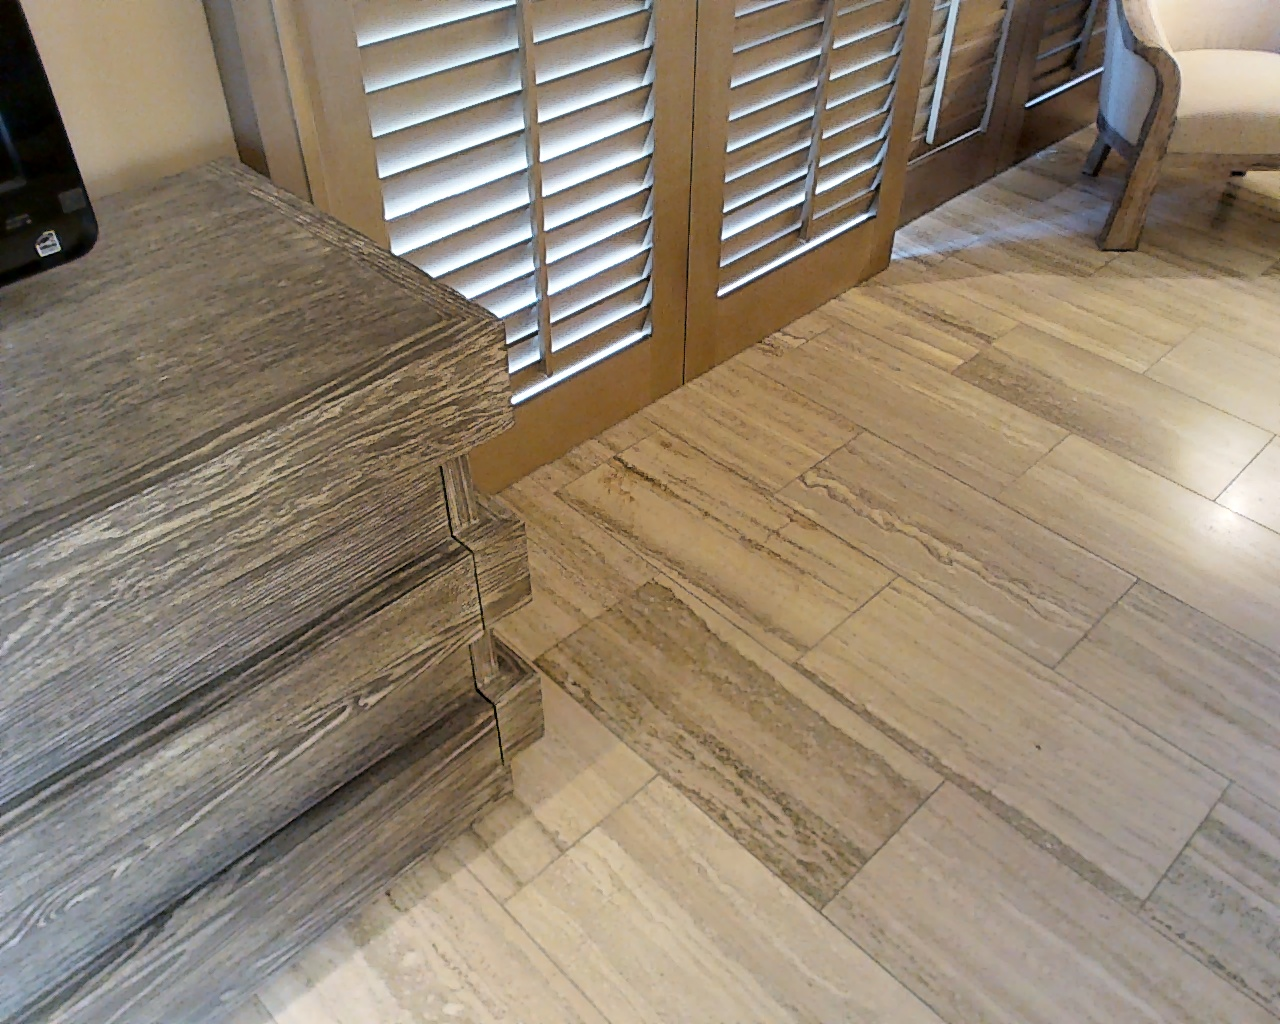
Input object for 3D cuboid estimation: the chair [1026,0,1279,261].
[{"bbox_3d":[1.630,-1.180,2.900,0.820,0.730,0.710,0,41,1],"label":"chair"}]
